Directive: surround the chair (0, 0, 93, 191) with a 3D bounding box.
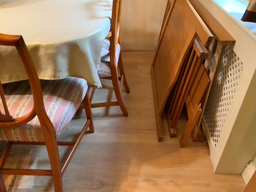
[{"bbox_3d":[-0.510,0.020,1.030,0.490,0.980,0.440,1,38,3],"label":"chair"}]
